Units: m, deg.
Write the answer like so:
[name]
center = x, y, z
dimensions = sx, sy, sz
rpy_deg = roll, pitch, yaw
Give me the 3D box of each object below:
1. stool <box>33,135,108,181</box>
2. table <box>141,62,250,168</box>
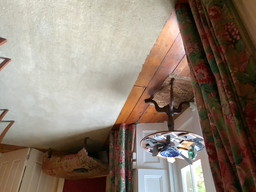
[stool]
center = -0.950, 1.070, 3.550
dimensions = 1.050, 0.450, 0.600
rpy_deg = -19, 141, 27
[table]
center = 0.570, 0.290, 2.250
dimensions = 0.490, 0.600, 1.160
rpy_deg = 10, 145, -13
